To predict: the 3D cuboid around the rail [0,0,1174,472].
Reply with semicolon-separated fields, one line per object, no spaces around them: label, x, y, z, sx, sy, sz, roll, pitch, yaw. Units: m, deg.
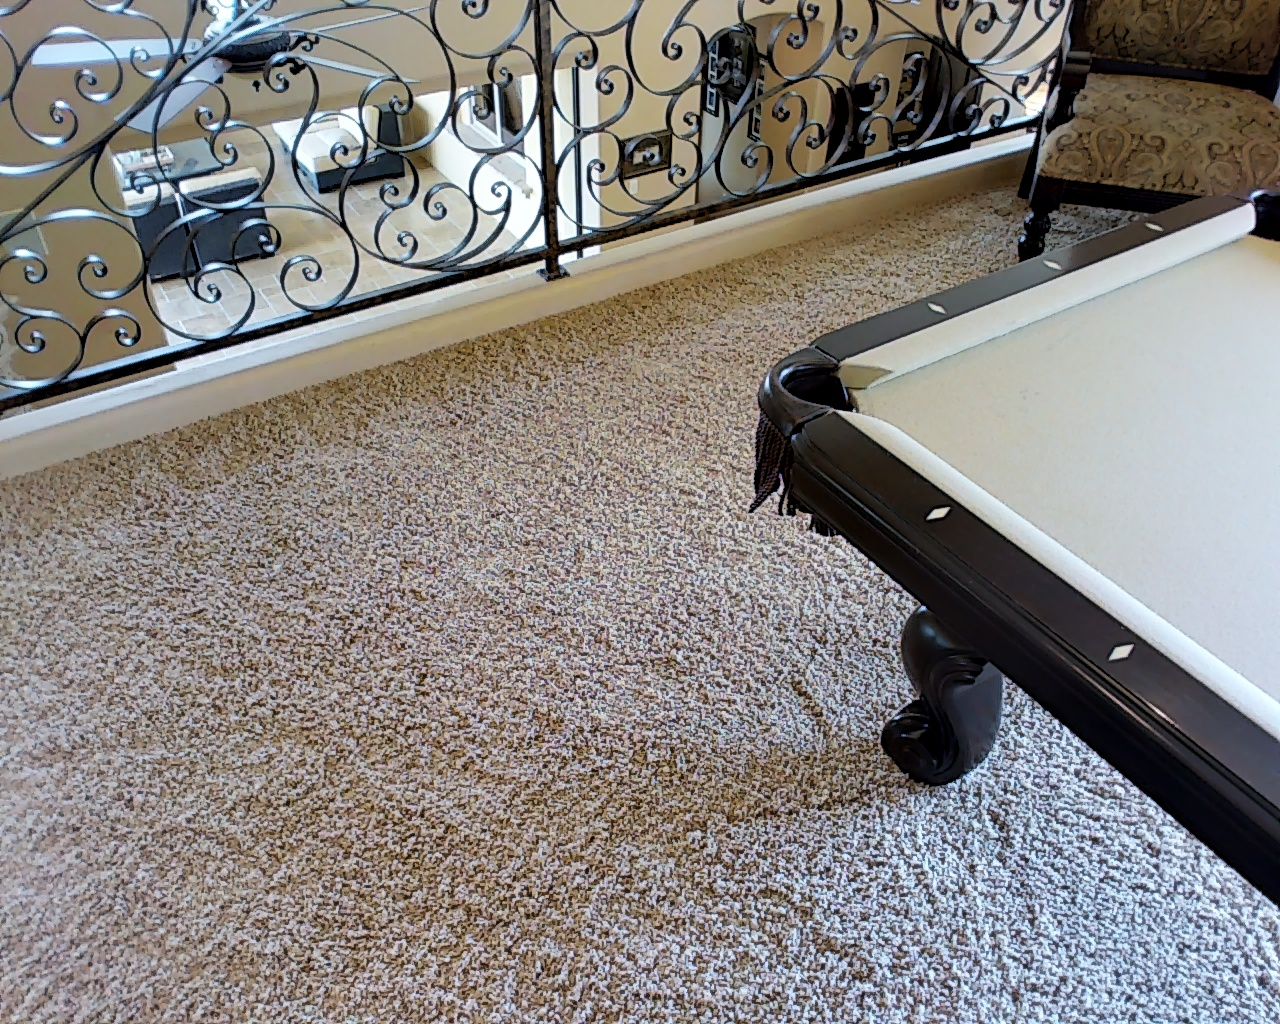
rail;-0.230;-1.100;2.700;4.581;1.150;0.270;-21;45;-24
